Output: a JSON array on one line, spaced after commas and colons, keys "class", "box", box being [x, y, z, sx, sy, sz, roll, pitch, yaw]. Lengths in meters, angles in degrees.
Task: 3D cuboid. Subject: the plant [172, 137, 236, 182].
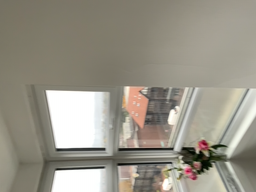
[{"class": "plant", "box": [0.670, 0.580, 1.940, 0.330, 0.400, 0.350, 110, 159, -69]}]
